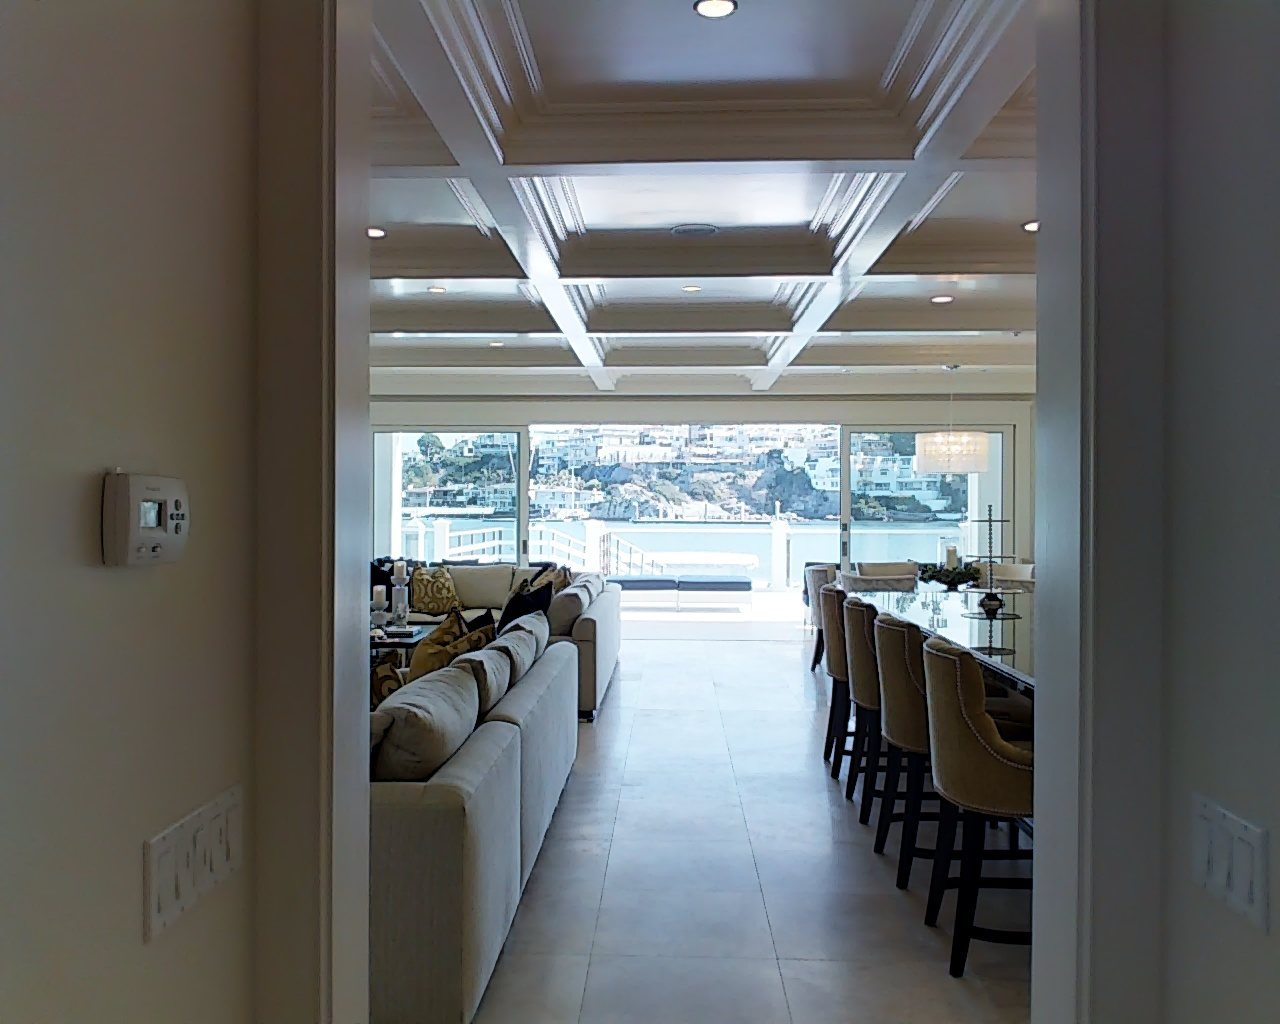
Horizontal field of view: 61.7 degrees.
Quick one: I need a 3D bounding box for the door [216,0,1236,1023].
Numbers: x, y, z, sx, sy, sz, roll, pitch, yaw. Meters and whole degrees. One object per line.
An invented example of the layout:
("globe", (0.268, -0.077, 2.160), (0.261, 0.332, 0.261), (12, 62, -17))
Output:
("door", (0.100, 0.190, 1.480), (1.239, 2.561, 0.350), (0, 0, 2))
